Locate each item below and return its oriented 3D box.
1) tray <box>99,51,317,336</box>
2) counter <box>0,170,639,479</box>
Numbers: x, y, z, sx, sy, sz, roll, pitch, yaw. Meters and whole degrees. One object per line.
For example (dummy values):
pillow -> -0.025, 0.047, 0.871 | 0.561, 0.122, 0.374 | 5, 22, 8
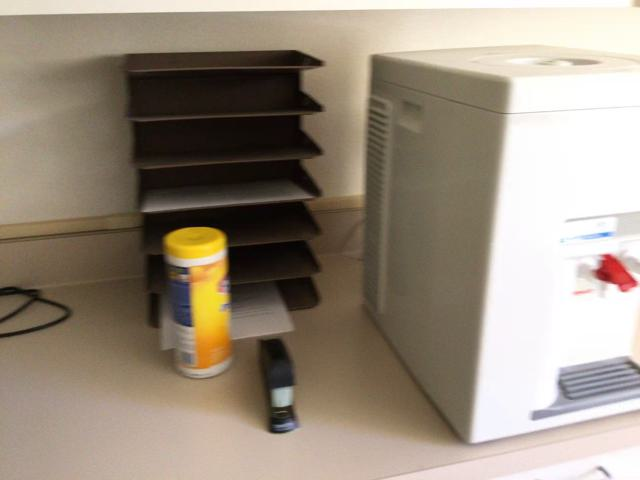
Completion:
tray -> -0.190, -0.100, 1.050 | 0.320, 0.450, 0.240 | -4, 21, -12
counter -> 0.040, 0.130, 0.960 | 2.890, 0.260, 0.680 | -4, 21, -12
